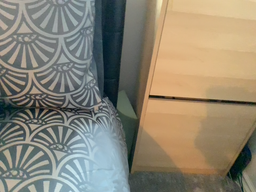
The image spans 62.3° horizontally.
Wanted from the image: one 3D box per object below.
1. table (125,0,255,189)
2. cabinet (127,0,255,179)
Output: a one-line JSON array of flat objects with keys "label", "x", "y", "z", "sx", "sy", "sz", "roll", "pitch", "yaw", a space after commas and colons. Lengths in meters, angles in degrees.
[{"label": "table", "x": 0.300, "y": -0.040, "z": 0.840, "sx": 0.510, "sy": 0.860, "sz": 0.360, "roll": 3, "pitch": 36, "yaw": -7}, {"label": "cabinet", "x": 0.280, "y": -0.050, "z": 0.900, "sx": 0.460, "sy": 0.900, "sz": 0.280, "roll": 4, "pitch": 35, "yaw": -5}]
